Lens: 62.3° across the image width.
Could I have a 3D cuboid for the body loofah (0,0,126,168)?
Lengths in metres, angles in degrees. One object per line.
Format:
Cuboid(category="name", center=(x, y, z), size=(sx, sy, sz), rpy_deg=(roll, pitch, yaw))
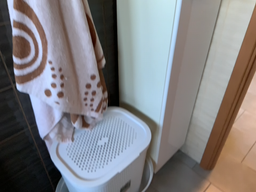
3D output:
Cuboid(category="body loofah", center=(-0.220, -0.230, 0.740), size=(0.400, 1.050, 0.190), rpy_deg=(-28, 47, -31))
